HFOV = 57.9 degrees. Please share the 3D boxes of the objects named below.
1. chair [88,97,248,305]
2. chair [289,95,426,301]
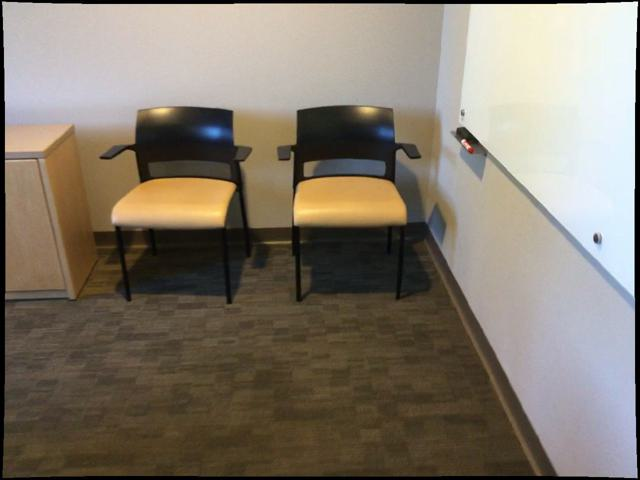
[{"bbox_3d":[-0.639,-0.200,2.680,0.539,0.761,0.630,-1,28,-3],"label":"chair"},{"bbox_3d":[0.130,-0.220,2.730,0.529,0.761,0.660,-1,28,-3],"label":"chair"}]
